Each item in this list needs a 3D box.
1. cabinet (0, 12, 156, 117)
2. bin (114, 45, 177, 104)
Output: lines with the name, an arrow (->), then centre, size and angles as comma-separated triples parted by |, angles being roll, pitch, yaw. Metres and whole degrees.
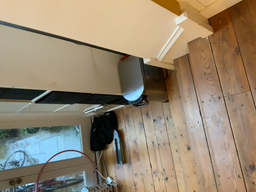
cabinet -> -0.560, -0.140, 1.980 | 0.820, 1.490, 0.500 | -19, 74, 42
bin -> 0.170, -0.170, 1.960 | 0.260, 0.480, 0.420 | -22, 72, 41
